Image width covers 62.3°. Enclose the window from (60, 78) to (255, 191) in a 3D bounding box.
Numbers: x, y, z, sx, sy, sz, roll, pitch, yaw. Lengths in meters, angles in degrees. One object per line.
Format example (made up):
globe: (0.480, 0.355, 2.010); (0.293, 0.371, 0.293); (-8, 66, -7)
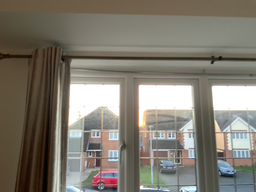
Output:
window: (0.670, 0.430, 1.650); (2.290, 1.100, 0.110); (1, -10, -4)
